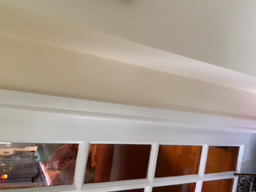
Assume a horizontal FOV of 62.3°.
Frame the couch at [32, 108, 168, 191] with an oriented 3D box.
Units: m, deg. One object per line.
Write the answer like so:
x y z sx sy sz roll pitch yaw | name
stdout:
-0.650 0.790 3.050 2.440 0.910 0.980 2 84 59 | couch
